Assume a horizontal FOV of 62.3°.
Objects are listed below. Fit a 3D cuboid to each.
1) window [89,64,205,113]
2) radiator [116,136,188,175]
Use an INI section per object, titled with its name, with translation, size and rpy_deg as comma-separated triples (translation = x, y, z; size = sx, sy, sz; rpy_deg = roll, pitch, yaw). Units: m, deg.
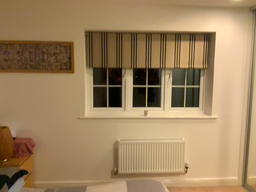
[window]
translation = 0.270, -0.110, 3.080
size = 1.620, 0.690, 0.170
rpy_deg = 0, 6, -3
[radiator]
translation = 0.320, 0.800, 2.870
size = 0.970, 0.490, 0.080
rpy_deg = 0, 6, -5
